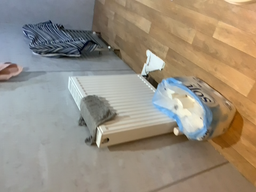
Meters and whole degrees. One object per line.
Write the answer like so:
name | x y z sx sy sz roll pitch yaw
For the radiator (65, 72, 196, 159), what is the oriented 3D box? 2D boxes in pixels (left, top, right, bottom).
radiator | -0.010 0.060 1.440 0.640 0.650 0.150 49 135 44
